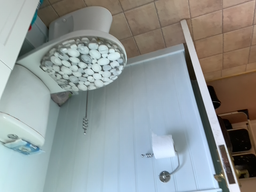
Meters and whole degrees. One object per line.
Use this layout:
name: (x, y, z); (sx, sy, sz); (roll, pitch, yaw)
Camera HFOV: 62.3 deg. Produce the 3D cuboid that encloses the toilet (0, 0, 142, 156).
toilet: (-0.330, -0.140, 1.190); (0.670, 0.740, 0.410); (-14, 143, 15)
